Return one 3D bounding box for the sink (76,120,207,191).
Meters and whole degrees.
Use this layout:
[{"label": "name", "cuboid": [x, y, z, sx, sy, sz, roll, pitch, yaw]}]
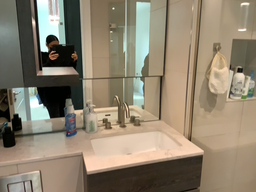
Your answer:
[{"label": "sink", "cuboid": [0.040, 0.320, 1.240, 0.620, 0.150, 0.480, -4, 13, -19]}]
